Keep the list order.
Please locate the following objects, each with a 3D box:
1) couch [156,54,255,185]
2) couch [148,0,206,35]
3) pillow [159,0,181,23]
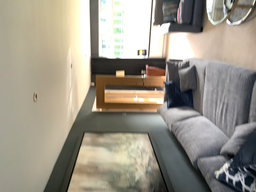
[{"bbox_3d":[1.030,0.110,3.220,2.060,0.680,1.270,-106,18,-73],"label":"couch"},{"bbox_3d":[0.940,-1.950,4.230,1.160,0.780,1.330,-108,20,-75],"label":"couch"},{"bbox_3d":[0.840,-1.740,4.290,0.460,0.140,0.450,21,113,57],"label":"pillow"}]
